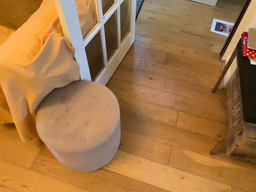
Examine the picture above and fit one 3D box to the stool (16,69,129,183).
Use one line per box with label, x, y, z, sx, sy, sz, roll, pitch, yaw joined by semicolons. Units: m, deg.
stool;-0.250;0.170;1.160;0.390;0.370;0.400;16;57;9
